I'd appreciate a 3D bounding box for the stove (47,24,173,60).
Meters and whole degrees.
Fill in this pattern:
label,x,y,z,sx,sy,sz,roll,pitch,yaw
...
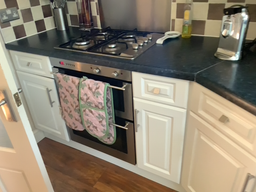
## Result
label,x,y,z,sx,sy,sz,roll,pitch,yaw
stove,-0.090,-0.380,1.380,0.610,0.020,0.570,13,34,25
